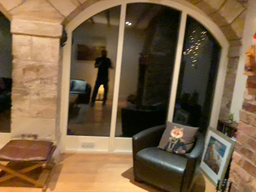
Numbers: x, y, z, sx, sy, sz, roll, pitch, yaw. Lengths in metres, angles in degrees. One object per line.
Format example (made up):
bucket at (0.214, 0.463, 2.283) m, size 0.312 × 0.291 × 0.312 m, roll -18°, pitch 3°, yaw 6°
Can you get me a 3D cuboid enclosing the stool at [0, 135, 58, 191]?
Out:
stool at (-1.160, 0.740, 2.420) m, size 0.590 × 0.400 × 0.520 m, roll 4°, pitch 10°, yaw -8°
